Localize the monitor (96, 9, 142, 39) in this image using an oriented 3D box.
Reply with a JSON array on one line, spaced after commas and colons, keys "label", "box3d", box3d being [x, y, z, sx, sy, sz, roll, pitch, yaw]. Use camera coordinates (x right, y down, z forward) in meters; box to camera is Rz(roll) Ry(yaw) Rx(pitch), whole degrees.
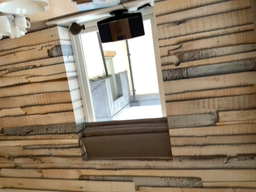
[{"label": "monitor", "box3d": [-0.080, -0.590, 1.760, 0.390, 0.230, 0.030, 4, -167, 16]}]
